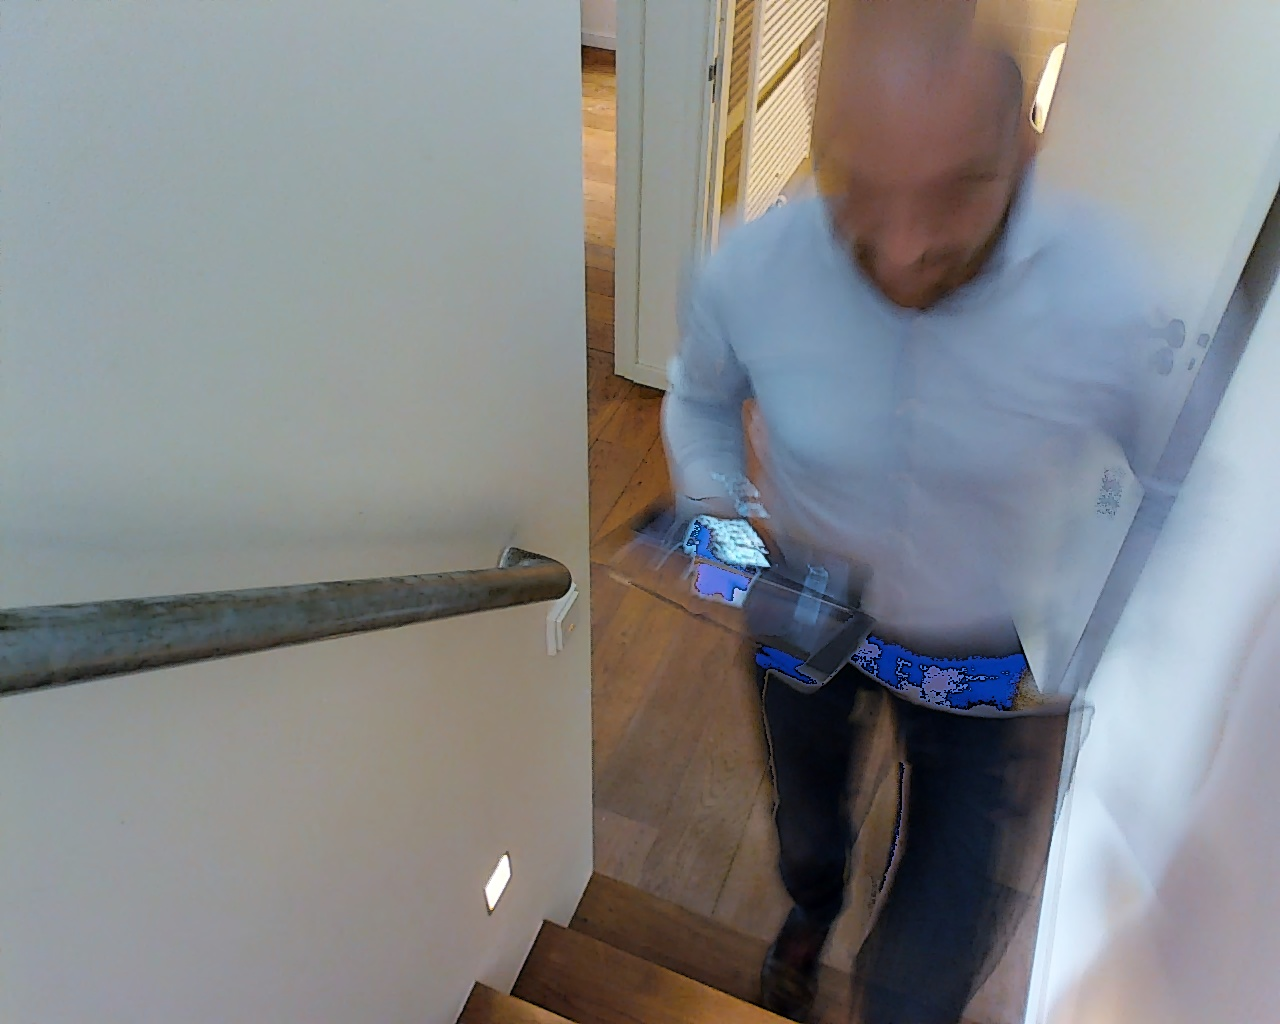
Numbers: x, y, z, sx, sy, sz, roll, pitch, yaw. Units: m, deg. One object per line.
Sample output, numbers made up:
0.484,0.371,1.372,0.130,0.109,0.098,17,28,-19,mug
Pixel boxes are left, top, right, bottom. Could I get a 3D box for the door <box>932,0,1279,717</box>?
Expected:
1.090,-0.710,2.330,0.200,2.360,1.070,0,42,-1,door
